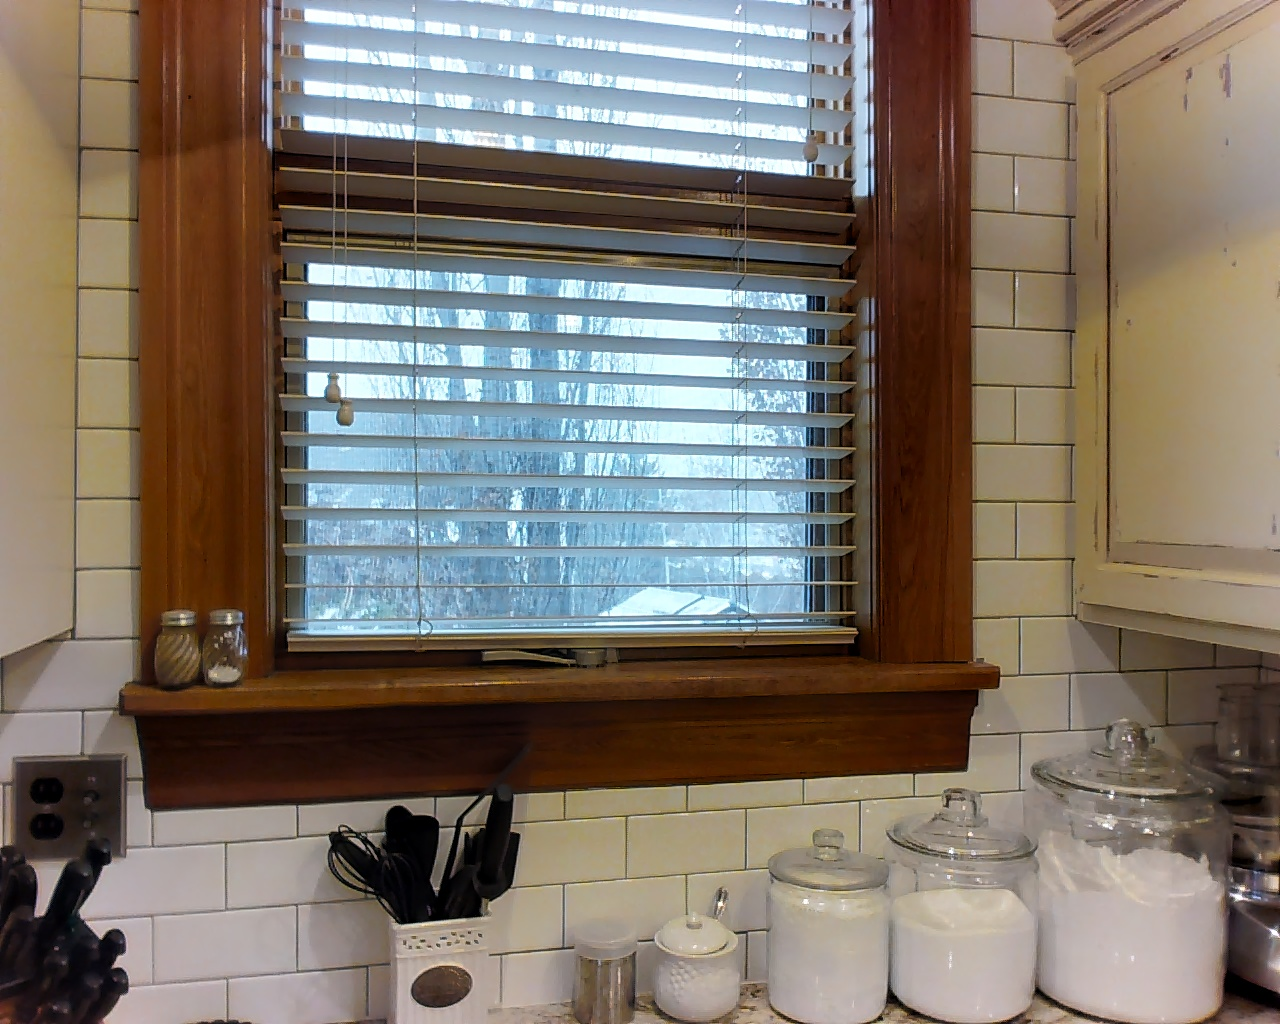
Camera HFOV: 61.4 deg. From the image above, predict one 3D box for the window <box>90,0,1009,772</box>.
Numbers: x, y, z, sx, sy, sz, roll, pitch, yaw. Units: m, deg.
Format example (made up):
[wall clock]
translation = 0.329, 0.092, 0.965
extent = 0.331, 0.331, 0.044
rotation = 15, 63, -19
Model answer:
[window]
translation = -0.060, -0.490, 1.320
extent = 1.100, 1.531, 0.090
rotation = 0, 0, -14
